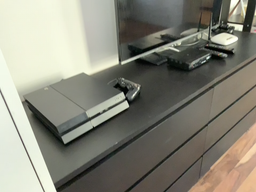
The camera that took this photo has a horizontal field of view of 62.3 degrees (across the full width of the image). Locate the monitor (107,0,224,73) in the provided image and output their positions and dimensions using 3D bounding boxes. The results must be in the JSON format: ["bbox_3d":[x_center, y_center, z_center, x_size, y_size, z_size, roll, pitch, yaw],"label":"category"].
[{"bbox_3d":[0.280,-0.530,1.180,0.930,0.550,0.050,-26,37,-33],"label":"monitor"}]
